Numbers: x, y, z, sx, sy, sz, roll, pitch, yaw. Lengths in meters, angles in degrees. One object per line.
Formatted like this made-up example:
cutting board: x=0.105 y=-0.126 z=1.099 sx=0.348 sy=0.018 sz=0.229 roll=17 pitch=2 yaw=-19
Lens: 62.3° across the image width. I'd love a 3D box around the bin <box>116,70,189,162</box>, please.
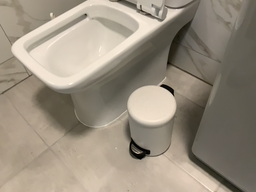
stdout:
bin: x=0.090 y=0.080 z=0.800 sx=0.160 sy=0.260 sz=0.180 roll=36 pitch=61 yaw=29
